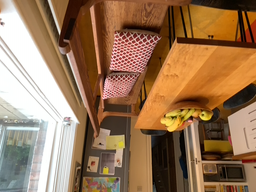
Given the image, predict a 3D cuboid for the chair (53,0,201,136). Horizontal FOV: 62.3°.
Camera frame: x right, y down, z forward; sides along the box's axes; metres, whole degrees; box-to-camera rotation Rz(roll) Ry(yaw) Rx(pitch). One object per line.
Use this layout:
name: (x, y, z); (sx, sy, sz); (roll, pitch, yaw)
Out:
chair: (-0.090, -0.250, 1.730); (0.530, 0.820, 1.780); (3, 159, -6)

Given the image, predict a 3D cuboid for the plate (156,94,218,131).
plate: (0.410, 0.130, 1.550); (0.330, 0.180, 0.300); (3, 159, -7)
